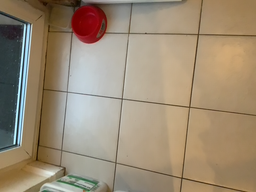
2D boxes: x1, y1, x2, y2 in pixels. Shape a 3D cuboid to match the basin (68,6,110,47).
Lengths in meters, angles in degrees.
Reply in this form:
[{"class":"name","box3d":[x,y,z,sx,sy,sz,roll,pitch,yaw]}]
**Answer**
[{"class":"basin","box3d":[-0.210,-0.370,1.130,0.210,0.020,0.200,9,94,17]}]
